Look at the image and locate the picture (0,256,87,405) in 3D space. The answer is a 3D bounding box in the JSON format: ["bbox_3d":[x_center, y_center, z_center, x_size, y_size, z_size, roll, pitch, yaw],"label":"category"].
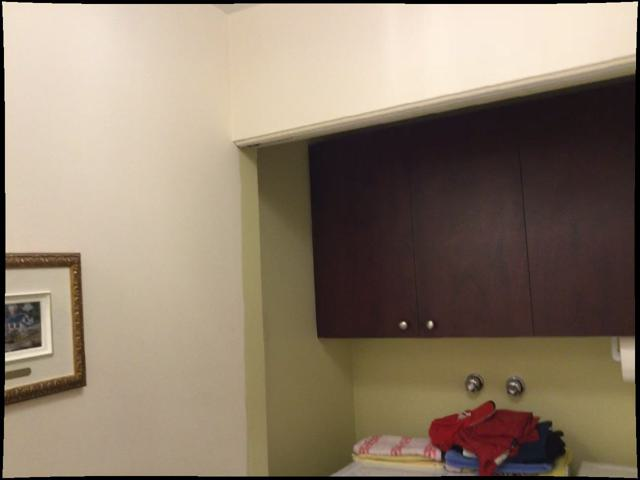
[{"bbox_3d":[-0.559,0.160,1.050,0.030,0.260,0.290,-2,-4,30],"label":"picture"}]
